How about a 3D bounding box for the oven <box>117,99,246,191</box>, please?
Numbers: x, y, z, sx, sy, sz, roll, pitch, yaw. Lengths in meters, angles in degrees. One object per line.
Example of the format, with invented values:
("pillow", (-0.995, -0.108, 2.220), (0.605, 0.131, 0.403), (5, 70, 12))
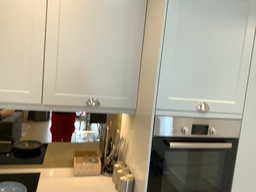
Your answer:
("oven", (0.320, 0.380, 1.600), (0.610, 0.590, 0.690), (4, 7, -17))
